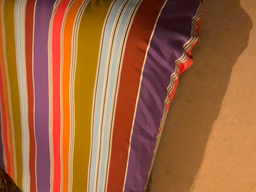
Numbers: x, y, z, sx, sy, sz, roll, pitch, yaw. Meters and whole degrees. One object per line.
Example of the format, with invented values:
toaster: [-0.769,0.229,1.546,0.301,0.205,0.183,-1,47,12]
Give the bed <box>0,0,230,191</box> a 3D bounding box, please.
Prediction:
bed: [-0.660,-0.030,1.730,2.160,0.710,1.680,26,117,32]
